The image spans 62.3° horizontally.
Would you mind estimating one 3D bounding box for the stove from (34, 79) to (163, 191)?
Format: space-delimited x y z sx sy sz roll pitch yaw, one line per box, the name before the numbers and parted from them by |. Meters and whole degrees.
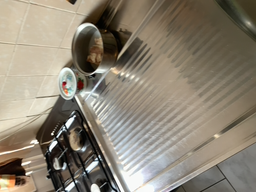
stove | -0.210 0.320 1.060 0.520 0.170 0.610 -50 62 35
